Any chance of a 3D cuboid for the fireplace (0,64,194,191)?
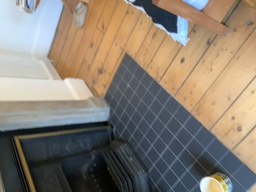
[{"bbox_3d":[-0.390,0.540,1.370,1.740,1.240,0.560,50,124,33],"label":"fireplace"}]
